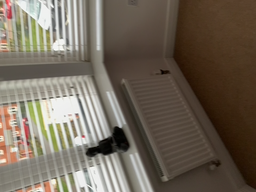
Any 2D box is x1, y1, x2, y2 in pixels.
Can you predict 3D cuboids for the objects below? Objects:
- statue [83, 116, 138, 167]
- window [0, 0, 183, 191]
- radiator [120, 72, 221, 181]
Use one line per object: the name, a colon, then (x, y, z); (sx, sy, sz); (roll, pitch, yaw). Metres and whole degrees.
statue: (-0.120, 0.290, 1.370); (0.190, 0.250, 0.220); (-53, 54, 48)
window: (-0.570, 0.360, 1.020); (0.570, 1.360, 2.290); (-53, 53, 48)
radiator: (0.290, 0.150, 1.480); (0.060, 0.490, 0.710); (-52, 54, 49)
